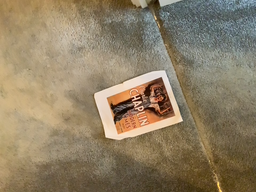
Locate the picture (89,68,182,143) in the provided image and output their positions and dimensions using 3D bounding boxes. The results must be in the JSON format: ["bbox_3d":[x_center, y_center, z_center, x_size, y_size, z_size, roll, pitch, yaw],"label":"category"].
[{"bbox_3d":[0.020,0.040,0.790,0.310,0.020,0.200,-17,85,14],"label":"picture"}]
